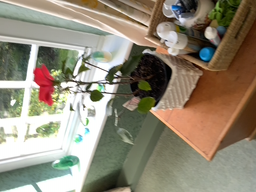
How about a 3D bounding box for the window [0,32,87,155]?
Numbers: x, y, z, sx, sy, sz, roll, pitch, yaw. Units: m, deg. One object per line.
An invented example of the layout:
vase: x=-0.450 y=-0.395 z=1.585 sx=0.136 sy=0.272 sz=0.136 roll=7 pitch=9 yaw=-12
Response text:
window: x=-0.890 y=0.030 z=1.090 sx=0.160 sy=1.240 sz=0.750 roll=46 pitch=125 yaw=37
